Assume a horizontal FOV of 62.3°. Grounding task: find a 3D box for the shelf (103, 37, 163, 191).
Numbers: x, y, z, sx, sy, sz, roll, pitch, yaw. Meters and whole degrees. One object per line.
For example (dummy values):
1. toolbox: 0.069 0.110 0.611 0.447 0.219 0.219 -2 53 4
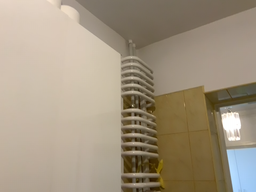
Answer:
1. shelf: 0.030 0.200 1.190 0.190 1.020 0.270 -14 -24 31
